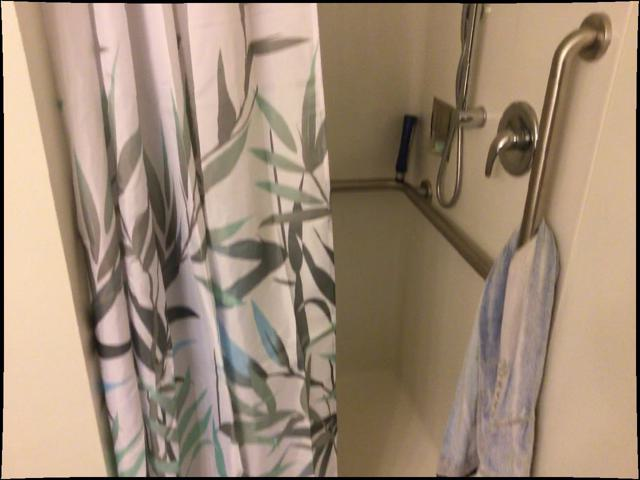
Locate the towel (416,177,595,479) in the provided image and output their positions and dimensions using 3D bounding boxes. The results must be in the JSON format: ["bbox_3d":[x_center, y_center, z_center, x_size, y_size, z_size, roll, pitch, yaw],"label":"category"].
[{"bbox_3d":[0.399,0.321,1.400,0.190,0.852,0.380,-8,25,-10],"label":"towel"}]

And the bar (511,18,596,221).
[{"bbox_3d":[0.449,-0.231,1.130,0.080,0.371,0.090,-8,25,-10],"label":"bar"}]
